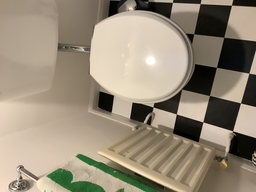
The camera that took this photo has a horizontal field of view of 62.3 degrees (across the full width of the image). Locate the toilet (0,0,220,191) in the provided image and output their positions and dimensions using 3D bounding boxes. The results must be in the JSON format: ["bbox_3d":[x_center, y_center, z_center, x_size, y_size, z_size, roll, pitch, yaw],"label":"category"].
[{"bbox_3d":[-0.100,-0.170,0.910,0.720,0.870,0.470,17,106,27],"label":"toilet"}]
